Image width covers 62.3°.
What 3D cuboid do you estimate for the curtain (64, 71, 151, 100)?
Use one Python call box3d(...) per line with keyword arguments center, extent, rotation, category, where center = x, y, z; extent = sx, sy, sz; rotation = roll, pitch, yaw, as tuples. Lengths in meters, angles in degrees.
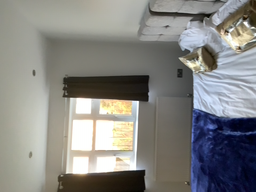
box3d(center=(-0.320, -0.160, 3.530), extent=(0.220, 1.380, 0.400), rotation=(150, 122, -84), category="curtain")
